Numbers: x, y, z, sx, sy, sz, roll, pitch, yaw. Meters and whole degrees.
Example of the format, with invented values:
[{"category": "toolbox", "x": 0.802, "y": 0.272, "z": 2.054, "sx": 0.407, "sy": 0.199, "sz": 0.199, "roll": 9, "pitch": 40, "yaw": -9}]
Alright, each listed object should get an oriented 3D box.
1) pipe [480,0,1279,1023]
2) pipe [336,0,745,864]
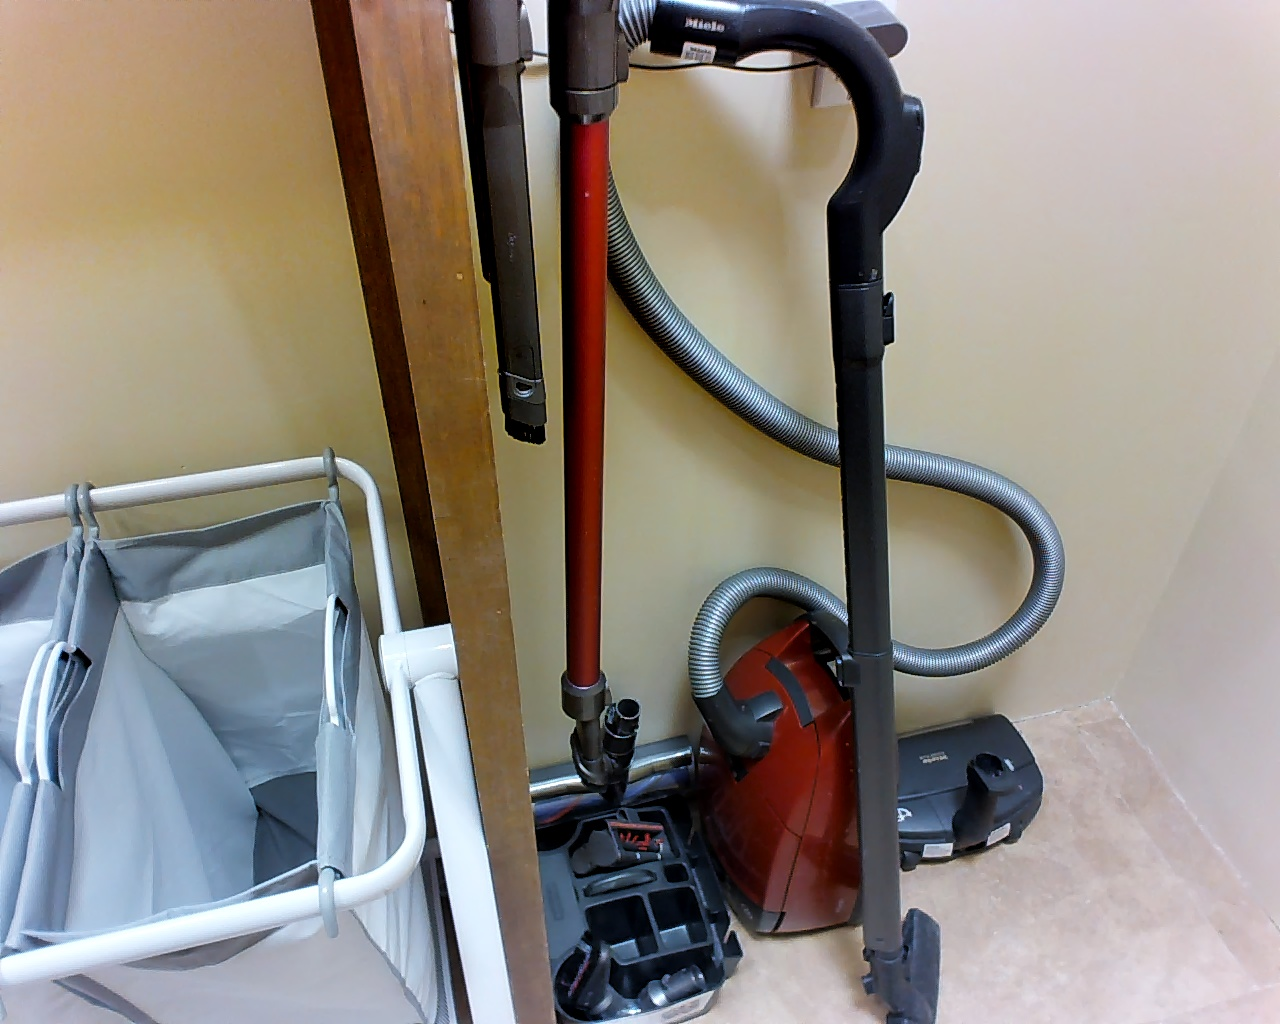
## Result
[{"category": "pipe", "x": 0.320, "y": 0.160, "z": 1.100, "sx": 0.780, "sy": 1.210, "sz": 0.570, "roll": -10, "pitch": 42, "yaw": -12}, {"category": "pipe", "x": -0.080, "y": -0.120, "z": 0.920, "sx": 0.230, "sy": 1.140, "sz": 0.190, "roll": -14, "pitch": 43, "yaw": -17}]
